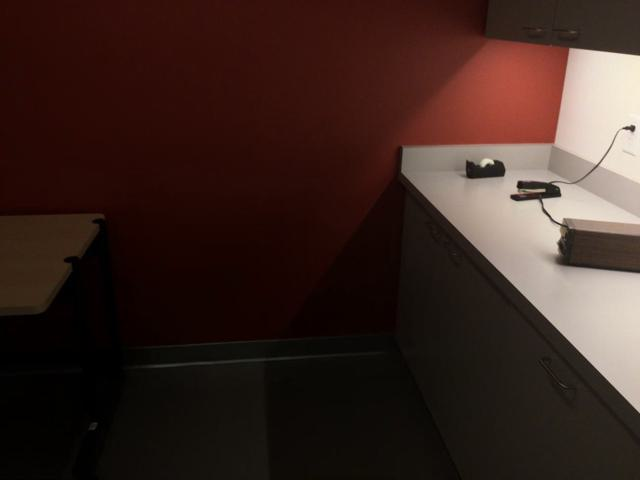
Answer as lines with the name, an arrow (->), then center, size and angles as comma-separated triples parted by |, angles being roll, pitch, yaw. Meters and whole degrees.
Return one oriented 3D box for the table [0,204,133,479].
table -> -1.340, 0.360, 1.830 | 1.250, 0.730, 0.790 | -1, 21, -7
